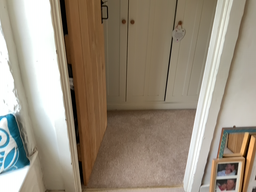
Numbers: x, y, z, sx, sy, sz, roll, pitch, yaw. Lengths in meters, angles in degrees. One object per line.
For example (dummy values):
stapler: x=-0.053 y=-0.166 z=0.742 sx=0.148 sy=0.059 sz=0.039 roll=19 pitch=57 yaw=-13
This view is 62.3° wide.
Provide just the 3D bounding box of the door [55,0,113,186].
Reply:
door: x=-0.240 y=-0.400 z=1.400 sx=0.140 sy=2.030 sz=0.680 roll=4 pitch=27 yaw=5
